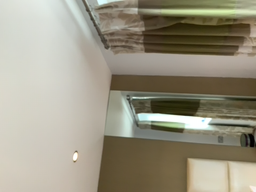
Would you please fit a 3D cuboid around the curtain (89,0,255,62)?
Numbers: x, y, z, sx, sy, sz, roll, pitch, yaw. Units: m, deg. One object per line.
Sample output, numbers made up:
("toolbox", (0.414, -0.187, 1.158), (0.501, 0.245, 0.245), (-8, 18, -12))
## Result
("curtain", (0.860, -0.390, 1.350), (0.550, 2.120, 0.110), (65, -151, -72))
